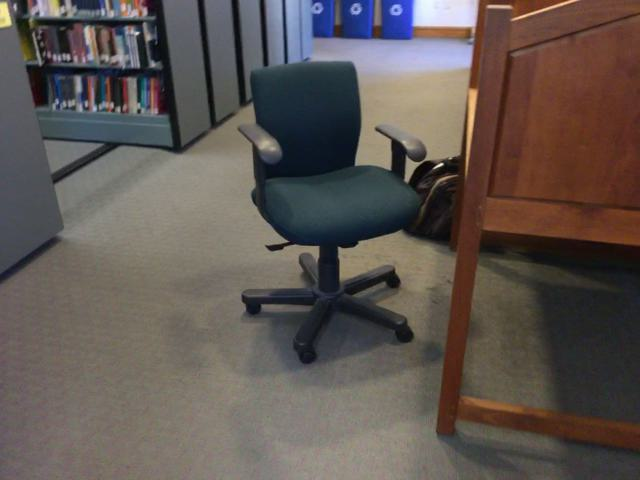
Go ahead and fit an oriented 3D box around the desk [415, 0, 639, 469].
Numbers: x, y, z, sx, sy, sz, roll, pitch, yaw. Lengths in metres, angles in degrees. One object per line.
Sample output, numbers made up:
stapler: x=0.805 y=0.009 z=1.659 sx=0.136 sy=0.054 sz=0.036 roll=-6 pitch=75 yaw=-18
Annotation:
desk: x=0.940 y=-0.330 z=1.860 sx=1.030 sy=1.420 sz=1.390 roll=6 pitch=29 yaw=13
